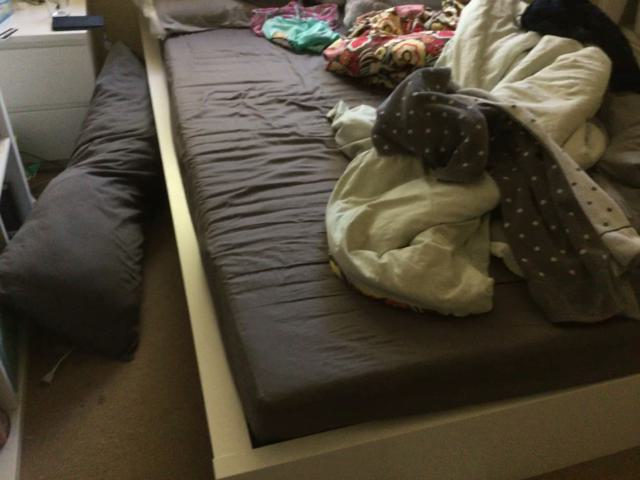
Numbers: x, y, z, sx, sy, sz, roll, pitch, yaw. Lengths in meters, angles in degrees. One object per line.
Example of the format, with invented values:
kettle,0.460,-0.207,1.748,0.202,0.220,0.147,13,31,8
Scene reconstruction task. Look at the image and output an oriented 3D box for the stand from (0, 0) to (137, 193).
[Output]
stand,-1.020,-0.630,2.170,0.520,0.630,0.580,-9,42,-12
